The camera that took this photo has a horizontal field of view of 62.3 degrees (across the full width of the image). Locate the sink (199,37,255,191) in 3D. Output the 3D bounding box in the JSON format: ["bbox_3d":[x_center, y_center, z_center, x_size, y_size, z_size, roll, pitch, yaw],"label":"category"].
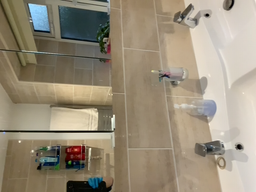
[{"bbox_3d":[0.490,0.120,0.800,0.440,0.100,0.590,123,147,-62],"label":"sink"}]

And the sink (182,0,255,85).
[{"bbox_3d":[0.460,-0.430,1.030,0.440,0.110,0.620,123,147,-62],"label":"sink"}]
